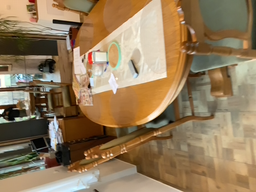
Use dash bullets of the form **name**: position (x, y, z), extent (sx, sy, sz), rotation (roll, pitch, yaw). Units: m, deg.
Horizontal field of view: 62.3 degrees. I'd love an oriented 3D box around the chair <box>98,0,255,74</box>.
- **chair**: position (0.460, -0.390, 1.150), extent (0.580, 1.080, 0.480), rotation (4, 98, 58)
